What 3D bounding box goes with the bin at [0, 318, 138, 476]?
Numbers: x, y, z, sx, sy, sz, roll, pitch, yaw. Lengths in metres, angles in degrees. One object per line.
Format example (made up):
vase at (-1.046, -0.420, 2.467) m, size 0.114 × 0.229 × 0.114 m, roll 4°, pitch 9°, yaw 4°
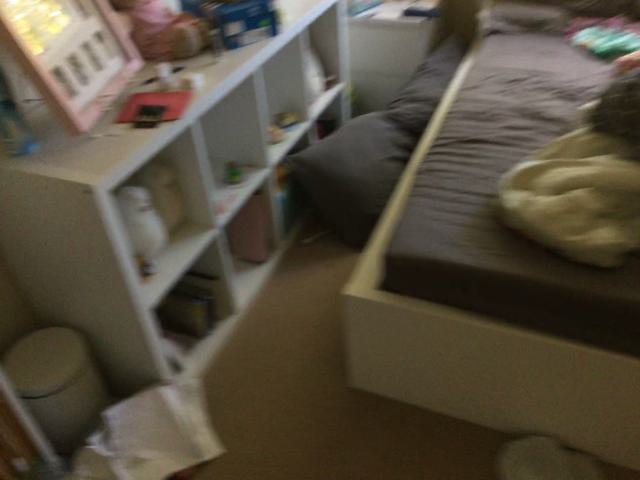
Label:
bin at (-0.690, 0.410, 1.530) m, size 0.240 × 0.280 × 0.230 m, roll 11°, pitch 41°, yaw 22°
